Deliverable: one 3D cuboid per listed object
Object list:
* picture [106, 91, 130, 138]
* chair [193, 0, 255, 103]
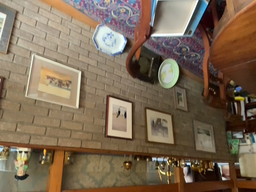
[{"bbox_3d":[-0.100,0.210,2.300,0.040,0.460,0.310,-16,156,42],"label":"picture"},{"bbox_3d":[0.980,-0.430,1.930,0.440,0.830,0.530,17,156,-41],"label":"chair"}]
